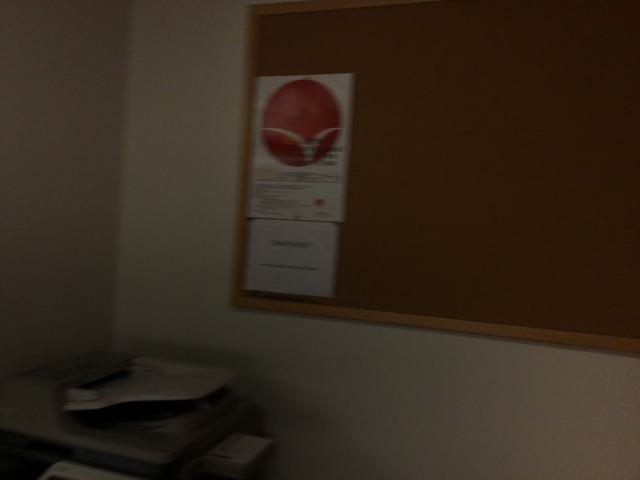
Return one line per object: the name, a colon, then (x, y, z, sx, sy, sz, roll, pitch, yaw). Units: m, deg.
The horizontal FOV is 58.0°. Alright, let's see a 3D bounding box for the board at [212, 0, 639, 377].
board: (0.310, -0.180, 1.480, 1.260, 0.900, 0.040, 5, 3, 20)
